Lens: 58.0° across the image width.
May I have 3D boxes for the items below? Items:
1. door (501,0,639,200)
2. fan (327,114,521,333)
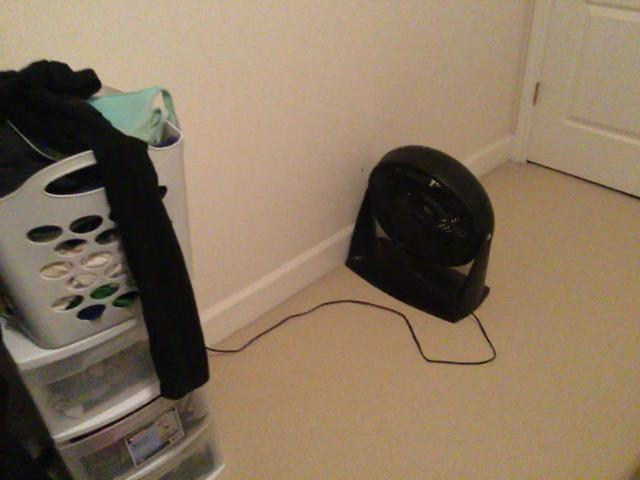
[{"bbox_3d":[1.130,-0.620,2.090,0.110,0.940,0.890,-33,44,-32],"label":"door"},{"bbox_3d":[0.320,-0.070,1.880,0.300,0.490,0.490,-32,44,-32],"label":"fan"}]
